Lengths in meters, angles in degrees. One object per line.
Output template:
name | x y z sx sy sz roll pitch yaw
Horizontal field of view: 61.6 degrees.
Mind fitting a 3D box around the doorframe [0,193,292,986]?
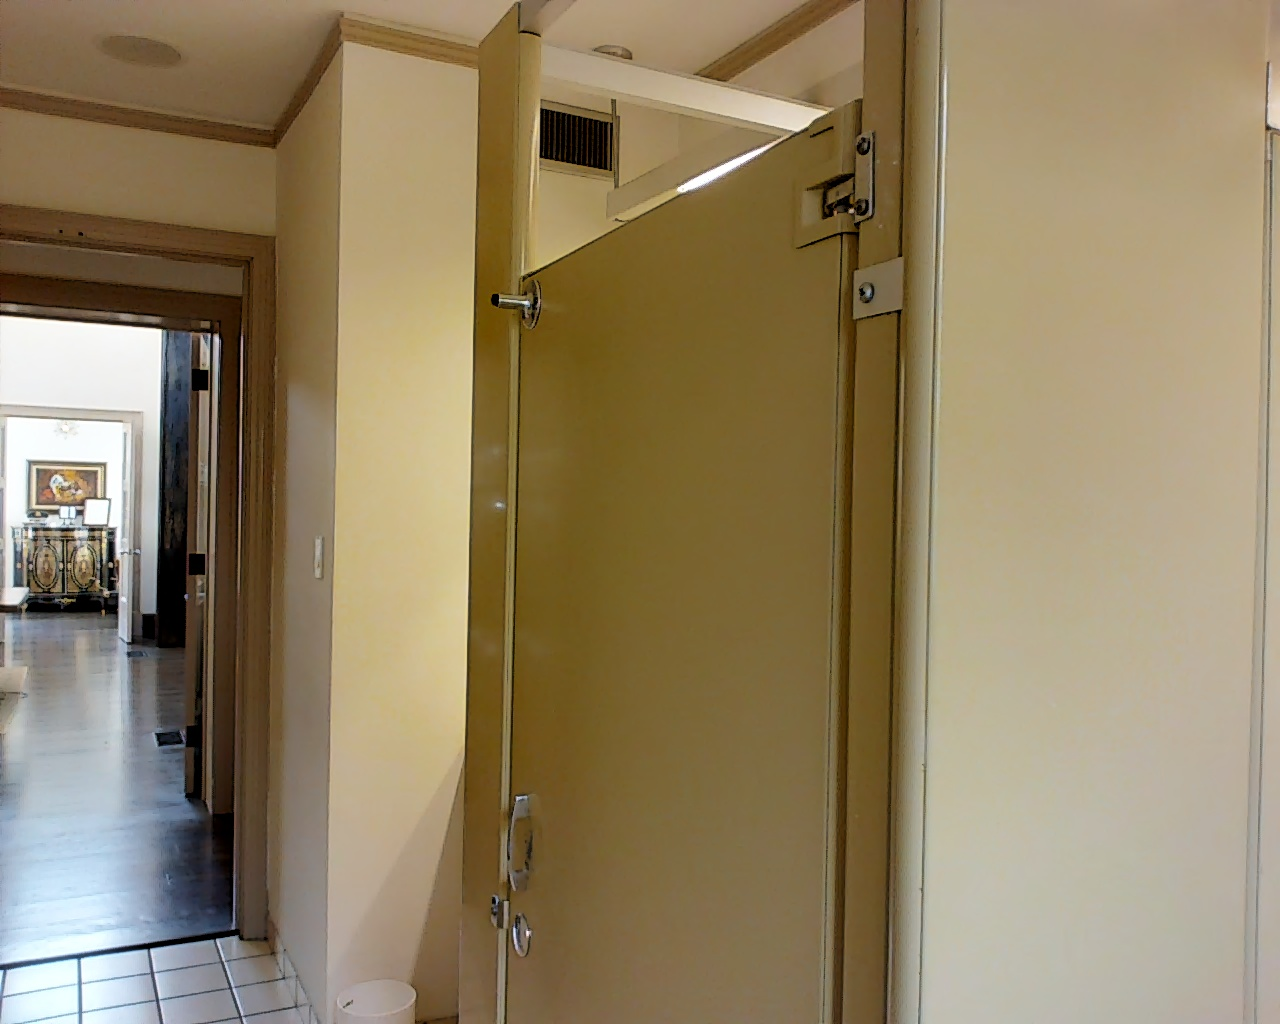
doorframe | -1.720 0.240 3.460 1.070 2.380 0.250 1 0 -28
